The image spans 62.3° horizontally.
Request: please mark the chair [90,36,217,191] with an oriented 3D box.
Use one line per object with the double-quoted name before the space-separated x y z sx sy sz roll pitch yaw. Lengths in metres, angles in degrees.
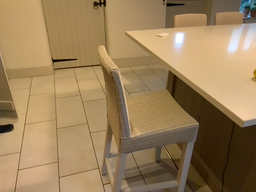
"chair" 0.090 0.200 1.280 0.490 0.980 0.410 -9 31 -16
